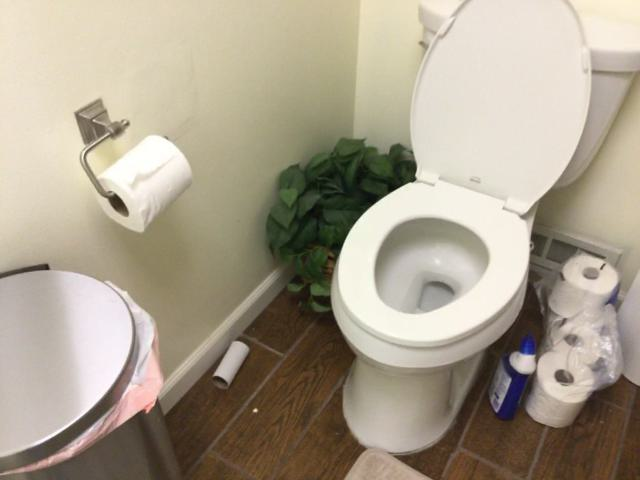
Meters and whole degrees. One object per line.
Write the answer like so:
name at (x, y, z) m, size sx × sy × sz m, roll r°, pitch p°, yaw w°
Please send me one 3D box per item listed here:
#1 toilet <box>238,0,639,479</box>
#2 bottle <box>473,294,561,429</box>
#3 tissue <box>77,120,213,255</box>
toilet at (0.290, -0.050, 1.240) m, size 0.500 × 0.870 × 0.730 m, roll 22°, pitch 45°, yaw 25°
bottle at (0.450, 0.280, 1.330) m, size 0.100 × 0.250 × 0.160 m, roll 22°, pitch 45°, yaw 25°
tissue at (-0.280, -0.090, 0.950) m, size 0.130 × 0.140 × 0.140 m, roll 22°, pitch 45°, yaw 25°
